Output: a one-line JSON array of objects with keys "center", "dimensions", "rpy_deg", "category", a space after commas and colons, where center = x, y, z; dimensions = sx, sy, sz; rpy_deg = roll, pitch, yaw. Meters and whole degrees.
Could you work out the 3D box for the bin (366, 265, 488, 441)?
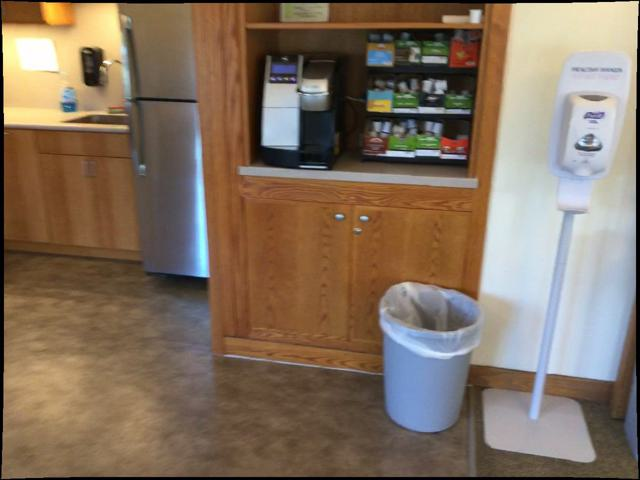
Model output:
[{"center": [0.419, 0.421, 2.250], "dimensions": [0.359, 0.451, 0.420], "rpy_deg": [9, 29, 19], "category": "bin"}]
